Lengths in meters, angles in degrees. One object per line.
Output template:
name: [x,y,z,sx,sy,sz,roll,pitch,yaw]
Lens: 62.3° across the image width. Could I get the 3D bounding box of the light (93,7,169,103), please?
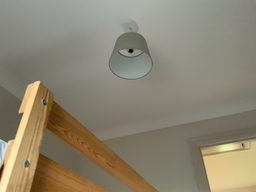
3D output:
light: [0.030,-0.250,1.320,0.340,0.290,0.440,-13,51,19]
